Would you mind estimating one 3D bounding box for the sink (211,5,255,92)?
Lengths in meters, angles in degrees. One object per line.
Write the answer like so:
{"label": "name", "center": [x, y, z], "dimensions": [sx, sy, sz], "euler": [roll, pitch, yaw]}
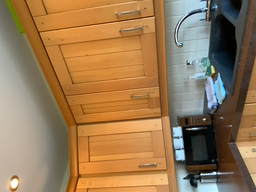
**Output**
{"label": "sink", "center": [0.680, -0.310, 1.330], "dimensions": [0.440, 0.160, 0.360], "euler": [-87, -10, -51]}
